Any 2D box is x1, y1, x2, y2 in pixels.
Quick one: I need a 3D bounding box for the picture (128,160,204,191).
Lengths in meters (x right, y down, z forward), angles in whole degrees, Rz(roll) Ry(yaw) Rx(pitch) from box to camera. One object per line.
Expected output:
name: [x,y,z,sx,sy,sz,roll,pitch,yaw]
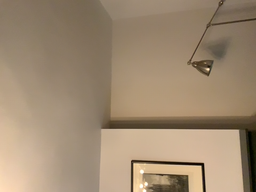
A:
picture: [0.340,0.870,1.950,0.050,0.680,0.520,34,-125,-72]
